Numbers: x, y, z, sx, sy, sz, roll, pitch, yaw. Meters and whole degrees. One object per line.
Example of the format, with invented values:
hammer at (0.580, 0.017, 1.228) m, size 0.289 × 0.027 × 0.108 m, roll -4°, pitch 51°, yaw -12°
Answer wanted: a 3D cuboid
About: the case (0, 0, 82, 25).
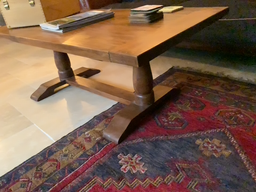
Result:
case at (-0.530, -0.560, 1.250) m, size 0.320 × 0.160 × 0.440 m, roll 2°, pitch 31°, yaw 16°
